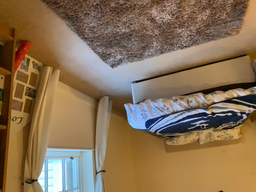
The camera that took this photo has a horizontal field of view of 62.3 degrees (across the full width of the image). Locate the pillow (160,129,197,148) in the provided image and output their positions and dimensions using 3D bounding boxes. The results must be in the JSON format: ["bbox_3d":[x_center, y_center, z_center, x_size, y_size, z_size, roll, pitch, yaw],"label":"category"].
[{"bbox_3d":[0.920,0.780,3.850,0.600,0.430,0.150,-10,-123,15],"label":"pillow"}]

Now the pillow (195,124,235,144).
[{"bbox_3d":[1.540,0.680,3.740,0.640,0.340,0.070,-12,-142,15],"label":"pillow"}]
